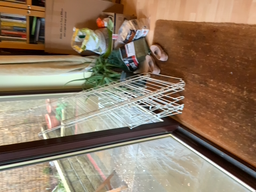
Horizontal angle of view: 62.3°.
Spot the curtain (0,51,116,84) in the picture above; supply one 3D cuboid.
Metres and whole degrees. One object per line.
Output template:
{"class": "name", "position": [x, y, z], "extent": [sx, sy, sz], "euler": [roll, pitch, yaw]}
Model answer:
{"class": "curtain", "position": [-1.060, -0.280, 2.030], "extent": [0.310, 1.950, 0.240], "euler": [31, 120, 53]}
